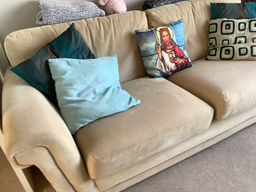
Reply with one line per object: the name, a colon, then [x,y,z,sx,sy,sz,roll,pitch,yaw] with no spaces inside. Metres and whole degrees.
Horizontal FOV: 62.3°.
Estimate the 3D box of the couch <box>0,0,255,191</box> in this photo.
couch: [0.310,-0.170,1.640,2.460,0.900,1.100,-18,35,-20]
